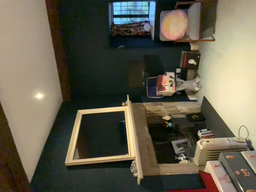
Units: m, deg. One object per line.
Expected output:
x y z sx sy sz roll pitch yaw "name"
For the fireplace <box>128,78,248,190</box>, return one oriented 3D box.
0.780 0.510 3.710 1.840 1.400 0.860 -98 9 -56 "fireplace"
